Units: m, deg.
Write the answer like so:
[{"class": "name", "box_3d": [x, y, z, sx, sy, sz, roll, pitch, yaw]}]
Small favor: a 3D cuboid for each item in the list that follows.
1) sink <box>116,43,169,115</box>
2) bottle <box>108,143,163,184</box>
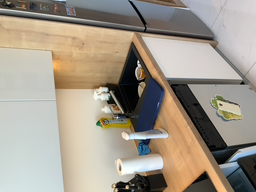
[{"class": "sink", "box_3d": [0.090, -0.130, 1.720, 0.450, 0.180, 0.360, 112, 147, -41]}, {"class": "bottle", "box_3d": [0.040, 0.400, 1.270, 0.170, 0.260, 0.140, 113, 147, -42]}]
